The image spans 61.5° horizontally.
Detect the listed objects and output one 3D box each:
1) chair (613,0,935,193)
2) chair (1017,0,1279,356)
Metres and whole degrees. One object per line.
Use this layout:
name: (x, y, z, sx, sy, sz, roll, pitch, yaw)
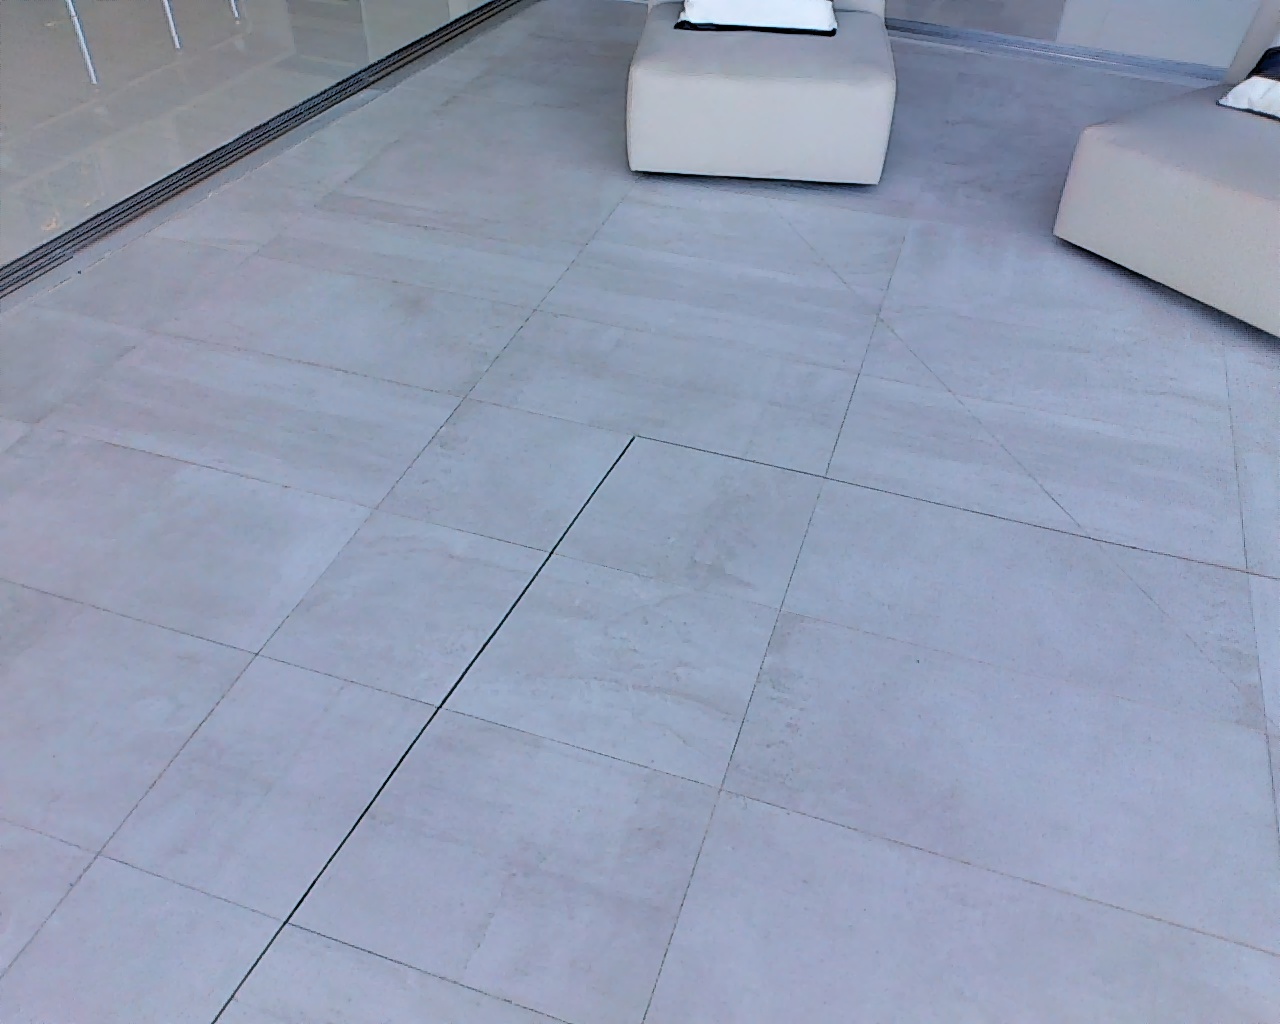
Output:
chair: (0.440, -1.680, 3.640, 0.940, 0.780, 0.960, 4, 41, 5)
chair: (1.880, -1.100, 3.030, 1.050, 0.770, 0.970, -27, 48, -28)
